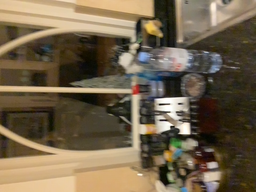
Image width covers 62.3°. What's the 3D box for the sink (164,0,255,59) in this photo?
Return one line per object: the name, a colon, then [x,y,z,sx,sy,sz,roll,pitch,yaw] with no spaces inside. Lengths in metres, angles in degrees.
sink: [0.410,-0.500,0.990,0.520,0.230,0.520,168,102,-67]
